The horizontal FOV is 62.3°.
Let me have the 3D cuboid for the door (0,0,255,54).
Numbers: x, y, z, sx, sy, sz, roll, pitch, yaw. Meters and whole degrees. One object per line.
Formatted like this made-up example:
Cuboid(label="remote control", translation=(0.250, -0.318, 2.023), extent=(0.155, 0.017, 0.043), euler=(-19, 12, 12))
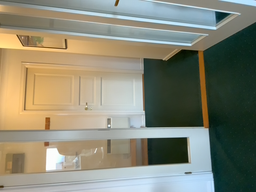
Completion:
Cuboid(label="door", translation=(-0.150, -0.590, 1.570), extent=(1.060, 2.140, 0.170), euler=(174, 97, -74))
